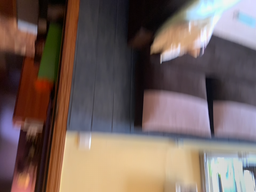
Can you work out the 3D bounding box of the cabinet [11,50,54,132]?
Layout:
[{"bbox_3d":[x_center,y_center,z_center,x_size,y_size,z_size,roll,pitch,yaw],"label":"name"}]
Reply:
[{"bbox_3d":[-1.570,-0.020,3.450,0.440,1.080,0.920,9,162,-27],"label":"cabinet"}]

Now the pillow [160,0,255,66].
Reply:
[{"bbox_3d":[0.550,-0.520,1.270,0.420,0.400,0.620,10,162,-27],"label":"pillow"}]
